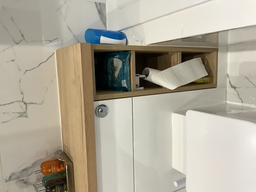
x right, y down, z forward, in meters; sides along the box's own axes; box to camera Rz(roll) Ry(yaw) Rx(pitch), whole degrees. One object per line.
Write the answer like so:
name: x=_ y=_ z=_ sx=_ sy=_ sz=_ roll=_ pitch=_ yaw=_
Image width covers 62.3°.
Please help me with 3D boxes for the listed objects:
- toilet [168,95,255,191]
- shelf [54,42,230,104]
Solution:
toilet: x=0.510 y=0.230 z=0.870 sx=0.520 sy=0.450 sz=0.370 roll=12 pitch=106 yaw=57
shelf: x=0.100 y=-0.140 z=1.100 sx=0.370 sy=0.840 sz=0.210 roll=12 pitch=106 yaw=57
